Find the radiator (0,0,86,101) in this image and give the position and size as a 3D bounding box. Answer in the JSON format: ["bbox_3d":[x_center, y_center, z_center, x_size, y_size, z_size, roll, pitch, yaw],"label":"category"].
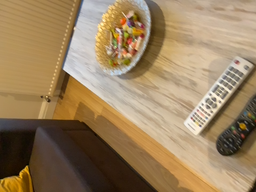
[{"bbox_3d":[-0.670,-0.600,1.530,0.150,0.630,1.280,31,106,41],"label":"radiator"}]
